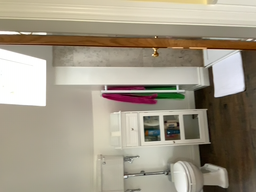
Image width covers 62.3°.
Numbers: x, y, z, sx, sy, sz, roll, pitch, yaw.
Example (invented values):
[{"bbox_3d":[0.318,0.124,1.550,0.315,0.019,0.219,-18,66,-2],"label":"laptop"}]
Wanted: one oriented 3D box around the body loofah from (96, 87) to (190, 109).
[{"bbox_3d":[0.170,0.030,2.710,0.350,1.140,0.220,134,135,-78],"label":"body loofah"}]
